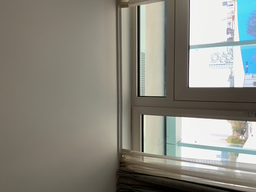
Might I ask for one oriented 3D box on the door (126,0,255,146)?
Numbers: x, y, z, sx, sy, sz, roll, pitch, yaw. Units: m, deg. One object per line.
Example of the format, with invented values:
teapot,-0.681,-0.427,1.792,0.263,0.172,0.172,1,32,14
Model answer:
door,1.160,-0.180,1.340,0.060,2.560,1.070,-6,-83,-65
